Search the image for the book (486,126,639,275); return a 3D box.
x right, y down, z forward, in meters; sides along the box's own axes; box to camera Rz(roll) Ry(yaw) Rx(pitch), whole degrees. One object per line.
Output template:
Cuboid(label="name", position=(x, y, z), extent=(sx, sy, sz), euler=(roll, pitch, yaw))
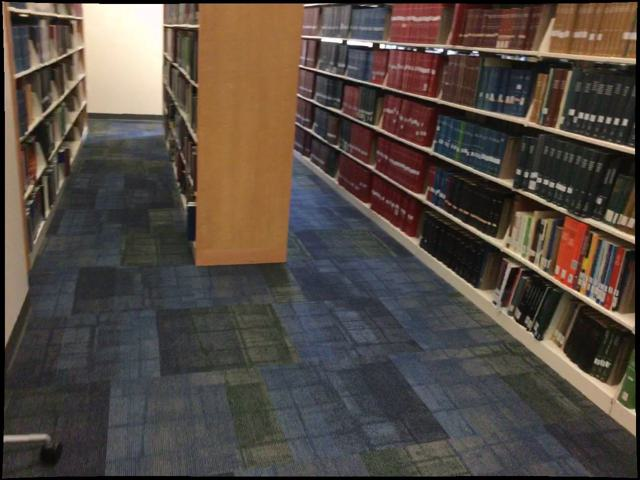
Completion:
Cuboid(label="book", position=(1.167, -0.231, 2.640), extent=(0.190, 0.411, 1.010), euler=(-1, 20, -19))

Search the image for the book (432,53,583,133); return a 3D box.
Cuboid(label="book", position=(1.017, -0.852, 3.270), extent=(0.349, 0.331, 0.820), euler=(-1, 20, -19))

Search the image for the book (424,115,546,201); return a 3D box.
Cuboid(label="book", position=(0.918, -0.501, 3.350), extent=(0.190, 0.321, 0.860), euler=(-1, 20, -19))

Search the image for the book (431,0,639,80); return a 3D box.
Cuboid(label="book", position=(1.087, -0.973, 2.710), extent=(0.140, 0.331, 1.960), euler=(-1, 20, -19))

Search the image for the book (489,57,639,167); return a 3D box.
Cuboid(label="book", position=(1.207, -0.602, 2.590), extent=(0.259, 0.351, 1.060), euler=(-1, 20, -19))

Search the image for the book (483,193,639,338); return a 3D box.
Cuboid(label="book", position=(1.237, 0.070, 2.750), extent=(0.369, 0.351, 0.940), euler=(-1, 20, -19))

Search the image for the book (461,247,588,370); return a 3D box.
Cuboid(label="book", position=(1.007, 0.321, 2.940), extent=(0.180, 0.351, 0.680), euler=(-1, 20, -19))
